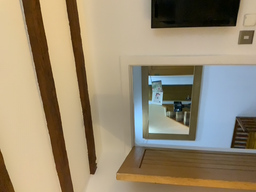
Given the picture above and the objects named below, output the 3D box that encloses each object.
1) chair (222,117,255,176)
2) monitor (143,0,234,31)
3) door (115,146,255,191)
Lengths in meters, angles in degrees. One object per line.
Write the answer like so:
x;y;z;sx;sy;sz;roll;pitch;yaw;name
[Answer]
1.760;0.710;2.980;0.370;0.630;0.710;-72;-19;-64;chair
0.380;-0.890;1.290;0.050;0.570;0.940;-69;-21;-67;monitor
0.920;0.520;1.490;0.770;1.900;0.060;12;-101;-82;door
